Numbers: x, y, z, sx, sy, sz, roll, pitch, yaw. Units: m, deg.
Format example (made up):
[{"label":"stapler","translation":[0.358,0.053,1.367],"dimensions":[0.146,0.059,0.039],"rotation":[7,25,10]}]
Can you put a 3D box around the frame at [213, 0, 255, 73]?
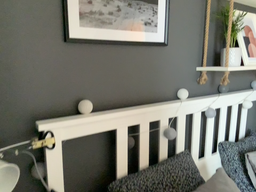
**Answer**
[{"label":"frame","translation":[0.700,-0.360,1.320],"dimensions":[0.260,0.410,0.160],"rotation":[-7,13,-33]}]

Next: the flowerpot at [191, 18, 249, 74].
[{"label":"flowerpot","translation":[0.510,-0.270,1.190],"dimensions":[0.230,0.270,0.180],"rotation":[-6,13,-31]}]
